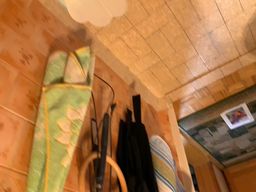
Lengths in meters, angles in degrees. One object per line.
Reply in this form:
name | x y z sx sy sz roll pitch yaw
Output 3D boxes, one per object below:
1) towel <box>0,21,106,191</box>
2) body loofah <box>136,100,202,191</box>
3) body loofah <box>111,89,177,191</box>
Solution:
towel | -0.210 0.050 0.710 0.140 0.750 0.230 -30 130 25
body loofah | 0.230 0.520 0.980 0.160 1.070 0.310 -31 129 25
body loofah | 0.070 0.370 0.810 0.130 0.850 0.260 -30 130 24
